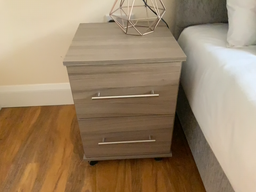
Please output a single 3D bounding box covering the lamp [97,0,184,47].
[{"bbox_3d":[0.040,-0.450,0.830,0.310,0.430,0.250,-2,35,0],"label":"lamp"}]
